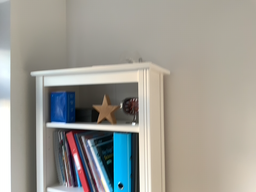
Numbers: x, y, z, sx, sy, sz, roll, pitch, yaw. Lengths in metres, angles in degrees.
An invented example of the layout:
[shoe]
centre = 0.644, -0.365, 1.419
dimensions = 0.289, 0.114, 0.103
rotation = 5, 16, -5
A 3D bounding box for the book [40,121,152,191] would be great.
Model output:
[book]
centre = -0.170, 0.340, 1.160
dimensions = 0.530, 0.360, 0.290
rotation = -1, -1, 25
